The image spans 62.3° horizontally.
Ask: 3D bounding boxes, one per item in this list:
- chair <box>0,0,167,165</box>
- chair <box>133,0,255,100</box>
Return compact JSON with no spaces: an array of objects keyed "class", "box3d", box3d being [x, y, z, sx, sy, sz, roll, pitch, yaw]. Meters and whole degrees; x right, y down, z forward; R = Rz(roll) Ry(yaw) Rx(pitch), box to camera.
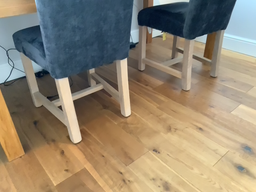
[{"class":"chair","box3d":[-0.250,-0.370,1.060,0.520,1.100,0.690,-24,40,-32]},{"class":"chair","box3d":[0.450,-0.670,1.520,0.470,1.100,0.720,-23,39,-31]}]
